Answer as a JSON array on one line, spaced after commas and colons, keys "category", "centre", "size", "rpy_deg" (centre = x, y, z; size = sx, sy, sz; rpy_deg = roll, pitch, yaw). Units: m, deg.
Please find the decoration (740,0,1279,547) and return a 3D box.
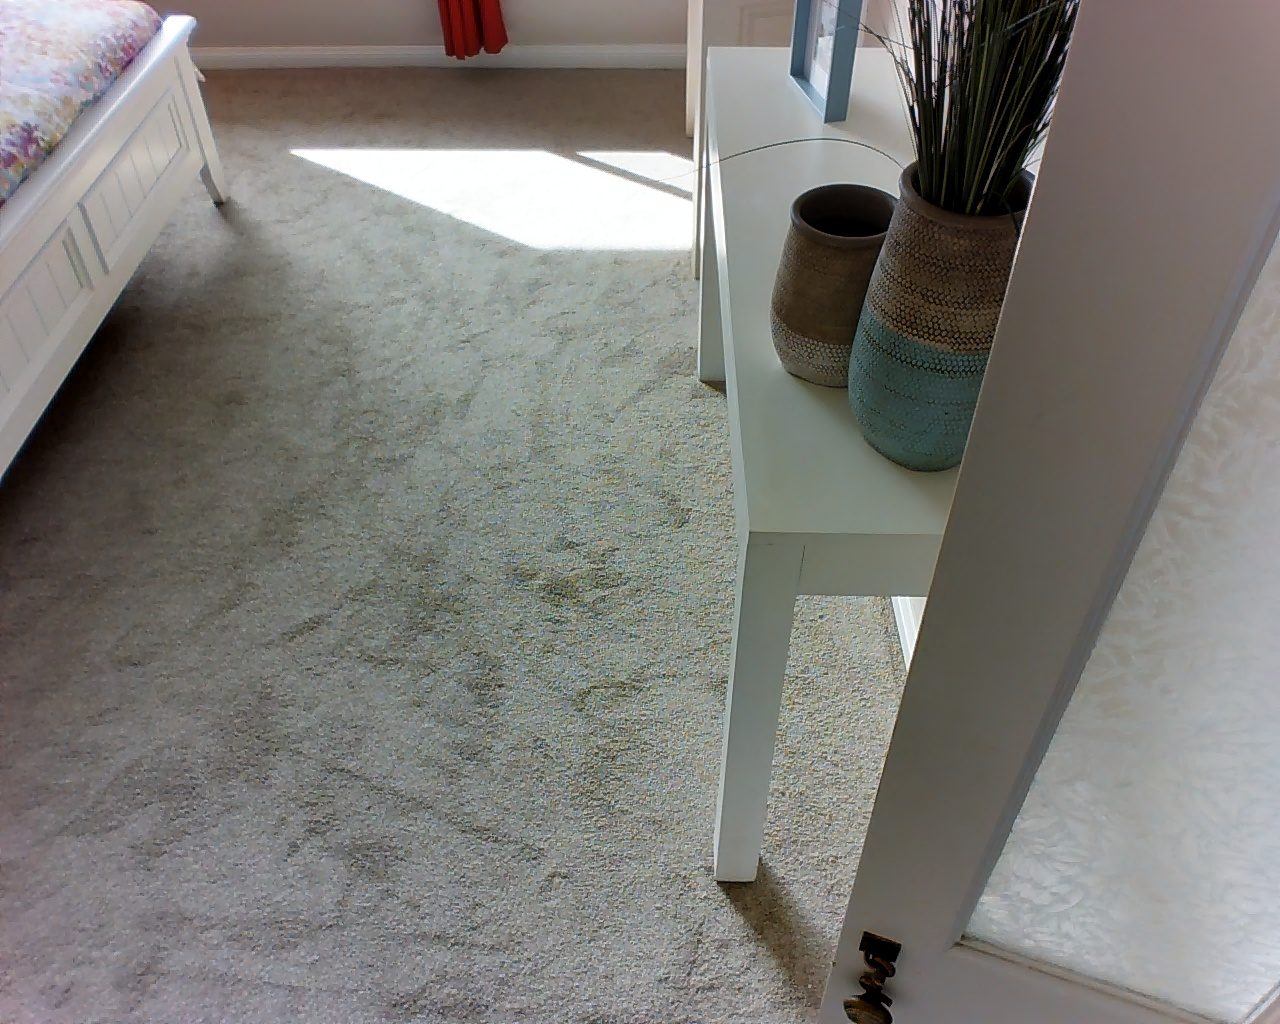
[{"category": "decoration", "centre": [0.320, -0.350, 1.050], "size": [0.260, 0.630, 0.390], "rpy_deg": [-16, 46, -16]}]
